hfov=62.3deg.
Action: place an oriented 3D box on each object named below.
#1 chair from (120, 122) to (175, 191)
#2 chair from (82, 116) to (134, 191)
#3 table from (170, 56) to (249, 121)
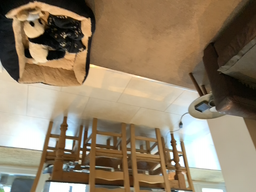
[{"bbox_3d":[0.210,0.910,2.670,0.460,1.010,0.470,11,142,-19],"label":"chair"},{"bbox_3d":[-0.250,0.820,2.510,0.460,1.010,0.470,11,142,-19],"label":"chair"},{"bbox_3d":[0.720,-0.050,1.960,0.440,0.330,0.440,11,141,-19],"label":"table"}]
